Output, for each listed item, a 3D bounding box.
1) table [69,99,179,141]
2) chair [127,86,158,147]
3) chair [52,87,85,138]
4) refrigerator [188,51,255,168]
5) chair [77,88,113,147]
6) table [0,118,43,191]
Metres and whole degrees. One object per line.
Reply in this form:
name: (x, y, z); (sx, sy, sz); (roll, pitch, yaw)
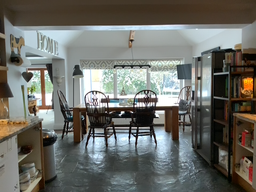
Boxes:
table: (-0.090, 0.530, 5.090); (2.370, 0.760, 0.950); (-1, 5, -2)
chair: (0.290, 0.390, 4.440); (0.520, 1.150, 0.600); (-1, 5, -8)
chair: (-1.400, 0.360, 5.100); (0.620, 1.140, 0.570); (-1, 4, -3)
refrigerator: (1.500, 0.170, 3.560); (0.690, 1.710, 0.940); (-1, 5, -2)
chair: (-0.670, 0.410, 4.450); (0.560, 1.140, 0.640); (0, 5, 7)
table: (-1.340, 0.740, 2.290); (0.550, 0.880, 0.650); (-1, 4, -2)
